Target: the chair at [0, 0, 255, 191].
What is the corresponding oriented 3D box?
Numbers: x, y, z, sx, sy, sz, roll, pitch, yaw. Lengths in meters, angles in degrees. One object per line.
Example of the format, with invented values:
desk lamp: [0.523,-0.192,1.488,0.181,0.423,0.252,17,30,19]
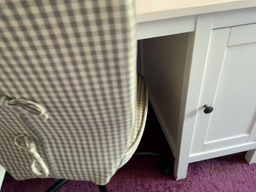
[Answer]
chair: [-0.170,0.020,0.650,0.660,0.930,0.590,1,40,8]
